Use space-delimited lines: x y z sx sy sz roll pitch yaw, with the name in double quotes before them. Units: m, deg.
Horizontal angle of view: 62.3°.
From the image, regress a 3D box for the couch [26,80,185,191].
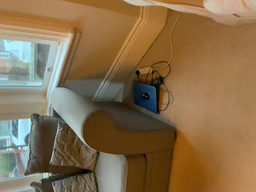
"couch" -0.340 0.740 1.920 1.080 0.950 1.600 23 111 56
